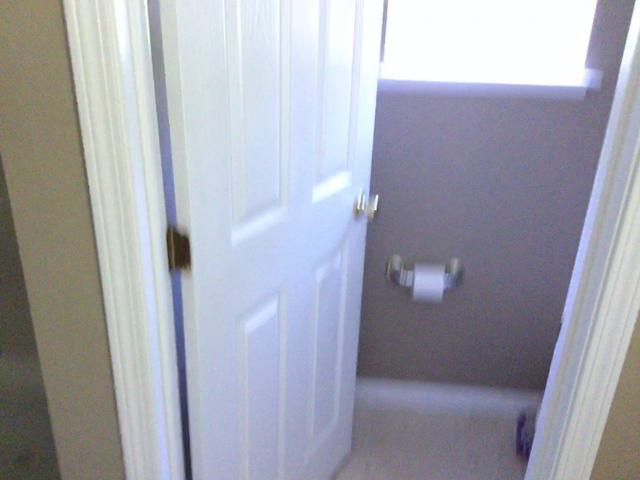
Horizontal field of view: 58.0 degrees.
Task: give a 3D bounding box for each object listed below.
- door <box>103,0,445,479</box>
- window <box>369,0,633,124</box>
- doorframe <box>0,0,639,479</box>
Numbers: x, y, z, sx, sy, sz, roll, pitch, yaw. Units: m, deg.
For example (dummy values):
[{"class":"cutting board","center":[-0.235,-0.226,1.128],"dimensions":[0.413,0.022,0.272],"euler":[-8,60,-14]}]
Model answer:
[{"class":"door","center":[-0.040,-0.070,1.350],"dimensions":[0.240,2.020,0.830],"euler":[16,25,30]},{"class":"window","center":[0.510,-0.810,1.620],"dimensions":[0.670,0.880,0.240],"euler":[5,21,5]},{"class":"doorframe","center":[0.070,0.040,0.970],"dimensions":[0.990,2.050,0.270],"euler":[5,21,5]}]
